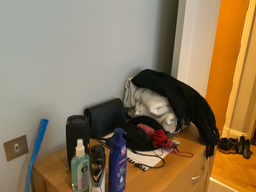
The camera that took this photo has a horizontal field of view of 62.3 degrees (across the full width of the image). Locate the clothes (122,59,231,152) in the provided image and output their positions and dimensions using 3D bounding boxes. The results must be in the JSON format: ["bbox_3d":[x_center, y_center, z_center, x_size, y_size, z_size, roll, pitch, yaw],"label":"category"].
[{"bbox_3d":[0.250,0.010,1.180,0.460,0.320,0.330,19,26,38],"label":"clothes"}]
